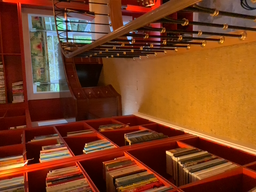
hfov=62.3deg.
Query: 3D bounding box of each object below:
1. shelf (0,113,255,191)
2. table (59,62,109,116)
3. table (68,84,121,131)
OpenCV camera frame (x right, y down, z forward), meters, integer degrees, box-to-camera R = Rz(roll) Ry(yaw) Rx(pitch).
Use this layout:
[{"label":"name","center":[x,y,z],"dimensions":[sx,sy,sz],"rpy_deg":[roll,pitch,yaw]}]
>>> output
[{"label":"shelf","center":[0.010,0.610,0.960],"dimensions":[3.640,2.010,0.360],"rpy_deg":[9,102,63]},{"label":"table","center":[-0.900,-0.140,4.140],"dimensions":[0.620,0.730,0.820],"rpy_deg":[64,146,35]},{"label":"table","center":[-0.560,0.150,3.520],"dimensions":[0.430,0.730,0.680],"rpy_deg":[6,99,63]}]
